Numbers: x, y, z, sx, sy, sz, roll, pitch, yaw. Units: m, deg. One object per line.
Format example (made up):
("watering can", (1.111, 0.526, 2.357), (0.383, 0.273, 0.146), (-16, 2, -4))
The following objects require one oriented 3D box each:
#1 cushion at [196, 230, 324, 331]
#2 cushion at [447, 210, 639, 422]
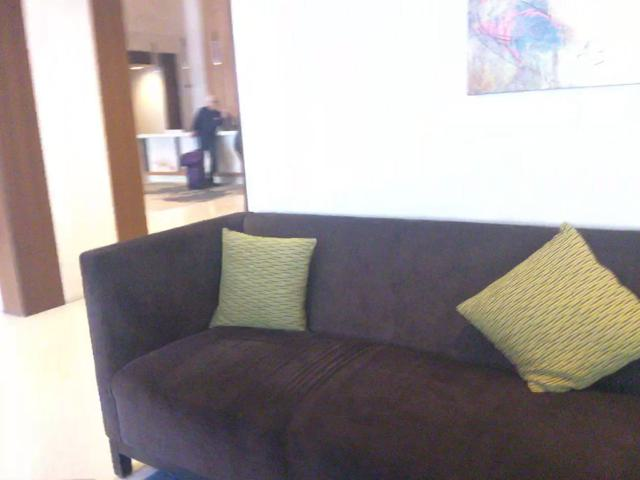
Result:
("cushion", (-0.220, 0.150, 2.190), (0.410, 0.340, 0.200), (-2, 7, 16))
("cushion", (0.650, 0.200, 1.590), (0.230, 0.370, 0.400), (-12, -35, -49))
